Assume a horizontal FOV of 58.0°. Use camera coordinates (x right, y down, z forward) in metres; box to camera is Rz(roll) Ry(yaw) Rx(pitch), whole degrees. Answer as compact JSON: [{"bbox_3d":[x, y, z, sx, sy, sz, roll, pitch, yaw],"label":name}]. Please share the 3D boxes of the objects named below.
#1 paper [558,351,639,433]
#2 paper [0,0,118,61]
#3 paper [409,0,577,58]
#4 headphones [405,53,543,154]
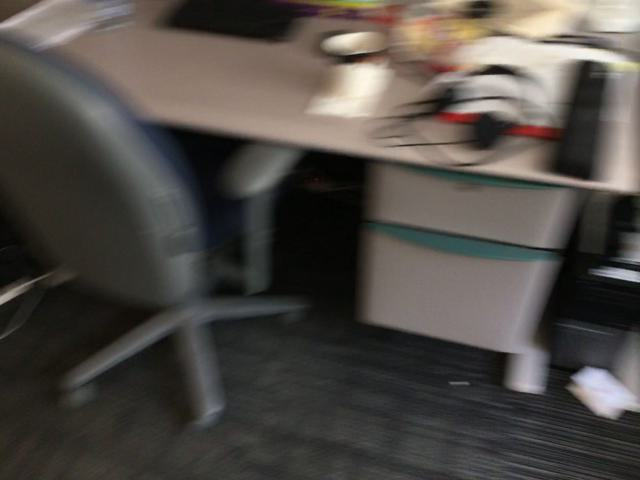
[{"bbox_3d":[0.710,0.380,1.460,0.110,0.070,0.160,-22,45,-19],"label":"paper"},{"bbox_3d":[-0.720,-0.570,1.510,0.230,0.050,0.310,11,45,16],"label":"paper"},{"bbox_3d":[0.430,-0.560,1.430,0.330,0.050,0.280,19,47,24],"label":"paper"},{"bbox_3d":[0.310,-0.280,1.150,0.230,0.060,0.250,10,44,16],"label":"headphones"}]
